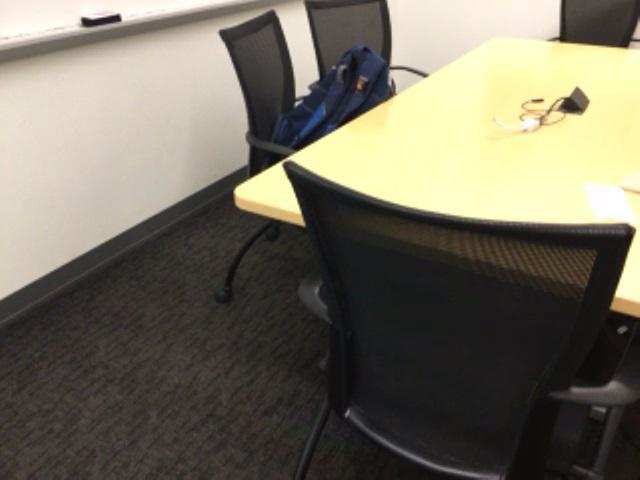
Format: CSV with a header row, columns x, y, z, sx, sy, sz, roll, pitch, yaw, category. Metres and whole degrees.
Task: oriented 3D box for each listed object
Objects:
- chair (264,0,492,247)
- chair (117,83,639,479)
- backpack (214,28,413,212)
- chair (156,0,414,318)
x,y,z,sx,sy,sz,roll,pitch,yaw,category
0.210,-0.570,2.370,0.620,0.890,0.610,-17,33,-24,chair
0.140,0.270,1.040,0.580,0.910,0.540,16,34,28,chair
0.000,-0.410,1.850,0.420,0.410,0.460,15,34,28,backpack
-0.080,-0.310,1.950,0.590,0.870,0.510,15,34,28,chair
